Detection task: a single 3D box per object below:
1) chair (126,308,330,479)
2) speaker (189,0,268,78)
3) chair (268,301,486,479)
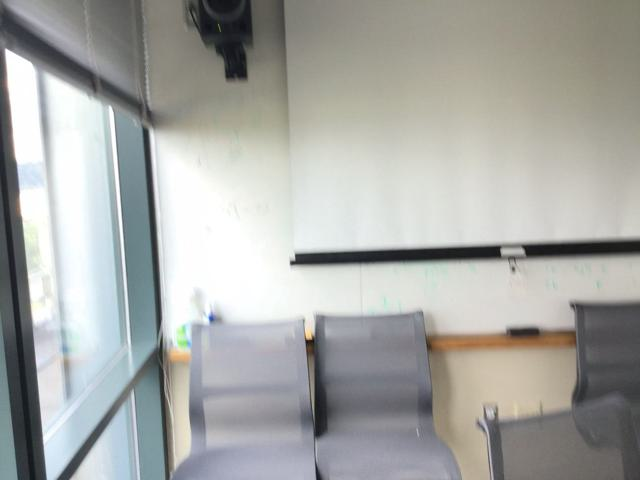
[{"bbox_3d":[-0.270,0.800,2.150,0.580,0.930,0.690,-4,5,1],"label":"chair"},{"bbox_3d":[-0.320,-0.780,2.070,0.190,0.310,0.350,-3,5,5],"label":"speaker"},{"bbox_3d":[0.220,0.770,2.140,0.660,0.950,0.590,-3,5,5],"label":"chair"}]
